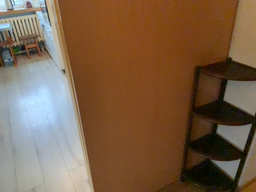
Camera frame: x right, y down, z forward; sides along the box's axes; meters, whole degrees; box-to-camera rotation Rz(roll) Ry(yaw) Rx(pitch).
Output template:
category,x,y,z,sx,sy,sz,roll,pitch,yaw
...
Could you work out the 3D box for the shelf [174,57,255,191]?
category,x,y,z,sx,sy,sz,roll,pitch,yaw
shelf,0.580,0.280,1.470,0.310,1.000,0.310,-17,34,-23
